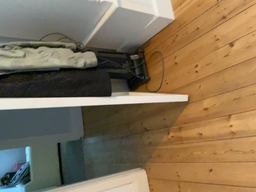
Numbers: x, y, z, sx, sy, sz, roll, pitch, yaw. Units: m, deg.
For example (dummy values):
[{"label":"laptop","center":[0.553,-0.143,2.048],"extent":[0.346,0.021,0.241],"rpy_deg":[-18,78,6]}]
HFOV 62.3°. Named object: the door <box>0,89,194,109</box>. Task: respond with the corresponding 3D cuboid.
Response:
[{"label":"door","center":[-0.560,0.000,1.370],"extent":[0.870,1.900,0.050],"rpy_deg":[5,96,57]}]
